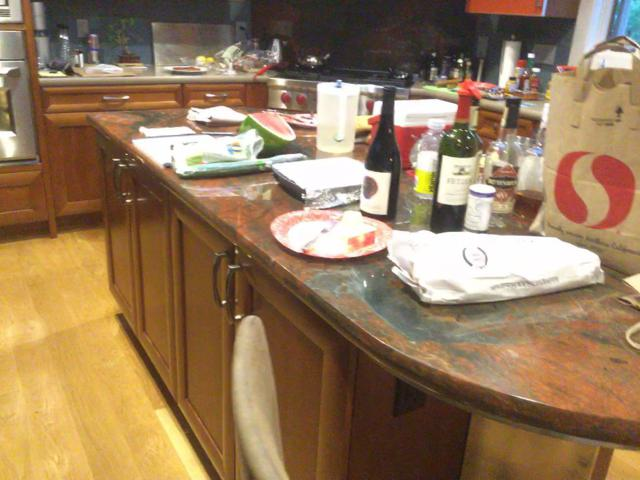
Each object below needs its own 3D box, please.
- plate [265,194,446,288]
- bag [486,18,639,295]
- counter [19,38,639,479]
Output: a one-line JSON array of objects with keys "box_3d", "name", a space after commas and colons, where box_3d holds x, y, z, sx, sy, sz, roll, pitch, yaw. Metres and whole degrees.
[{"box_3d": [0.060, -0.010, 1.100, 0.240, 0.050, 0.250, -11, 27, -30], "name": "plate"}, {"box_3d": [0.580, -0.180, 1.080, 0.290, 0.410, 0.360, -11, 27, -30], "name": "bag"}, {"box_3d": [0.430, -0.530, 2.430, 2.560, 0.250, 3.870, -11, 27, -30], "name": "counter"}]
